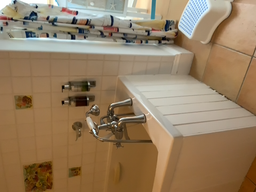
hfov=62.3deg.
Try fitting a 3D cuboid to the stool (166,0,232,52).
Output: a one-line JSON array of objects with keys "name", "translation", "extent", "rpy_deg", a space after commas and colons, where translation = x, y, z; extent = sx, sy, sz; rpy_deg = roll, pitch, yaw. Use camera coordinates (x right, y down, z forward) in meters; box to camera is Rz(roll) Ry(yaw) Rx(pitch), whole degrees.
[{"name": "stool", "translation": [0.430, -0.520, 1.370], "extent": [0.330, 0.140, 0.310], "rpy_deg": [116, 144, -49]}]

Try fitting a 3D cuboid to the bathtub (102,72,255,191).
[{"name": "bathtub", "translation": [0.190, 0.740, 1.560], "extent": [0.700, 0.550, 1.680], "rpy_deg": [-130, 43, -55]}]
